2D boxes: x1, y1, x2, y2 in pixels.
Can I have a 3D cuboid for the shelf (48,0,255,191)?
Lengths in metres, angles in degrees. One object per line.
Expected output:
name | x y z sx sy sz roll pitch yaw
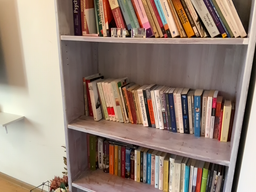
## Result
shelf | 0.090 0.240 1.140 0.870 1.790 0.330 8 18 25

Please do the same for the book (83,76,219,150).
book | 0.110 0.050 1.170 0.670 0.200 0.290 10 19 29
